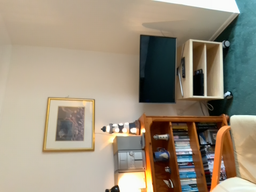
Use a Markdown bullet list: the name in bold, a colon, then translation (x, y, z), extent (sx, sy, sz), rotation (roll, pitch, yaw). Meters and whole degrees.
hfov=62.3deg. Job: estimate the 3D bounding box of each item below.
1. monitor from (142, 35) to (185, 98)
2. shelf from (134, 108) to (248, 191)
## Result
- **monitor**: translation (0.390, -0.310, 2.300), extent (0.060, 0.460, 0.650), rotation (175, 97, -76)
- **shelf**: translation (0.600, 0.640, 2.130), extent (0.330, 0.950, 0.960), rotation (122, 147, -63)
